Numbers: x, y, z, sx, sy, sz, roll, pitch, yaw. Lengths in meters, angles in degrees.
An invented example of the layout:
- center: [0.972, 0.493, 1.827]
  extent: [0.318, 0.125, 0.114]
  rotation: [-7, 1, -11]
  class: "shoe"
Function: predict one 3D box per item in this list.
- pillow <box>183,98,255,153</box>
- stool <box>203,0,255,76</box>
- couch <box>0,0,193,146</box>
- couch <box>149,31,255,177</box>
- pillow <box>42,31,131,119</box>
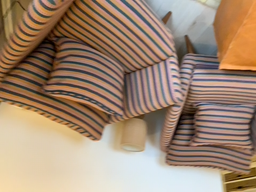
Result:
- center: [0.690, 0.210, 1.600]
  extent: [0.450, 0.330, 0.200]
  rotation: [7, 118, 1]
  class: "pillow"
- center: [0.770, -0.440, 1.160]
  extent: [0.500, 0.420, 0.530]
  rotation: [6, 148, 0]
  class: "stool"
- center: [-0.210, -0.270, 1.260]
  extent: [0.780, 0.780, 0.860]
  rotation: [-22, 139, 37]
  class: "couch"
- center: [0.670, 0.110, 1.710]
  extent: [0.860, 0.800, 0.810]
  rotation: [6, 148, 0]
  class: "couch"
- center: [-0.210, -0.110, 1.220]
  extent: [0.430, 0.290, 0.170]
  rotation: [32, 132, -25]
  class: "pillow"
